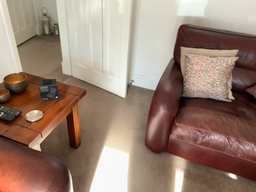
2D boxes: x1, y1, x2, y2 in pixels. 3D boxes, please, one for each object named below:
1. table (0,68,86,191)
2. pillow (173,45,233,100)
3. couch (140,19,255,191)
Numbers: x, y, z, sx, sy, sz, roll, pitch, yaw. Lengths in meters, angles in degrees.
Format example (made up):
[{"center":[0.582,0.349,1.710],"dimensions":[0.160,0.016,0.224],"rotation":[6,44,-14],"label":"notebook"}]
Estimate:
[{"center":[-0.770,0.230,1.560],"dimensions":[0.690,0.530,0.600],"rotation":[14,36,13],"label":"table"},{"center":[0.620,-0.190,1.770],"dimensions":[0.410,0.340,0.200],"rotation":[-8,27,22],"label":"pillow"},{"center":[1.270,0.110,1.690],"dimensions":[2.050,0.850,1.070],"rotation":[15,36,14],"label":"couch"}]
